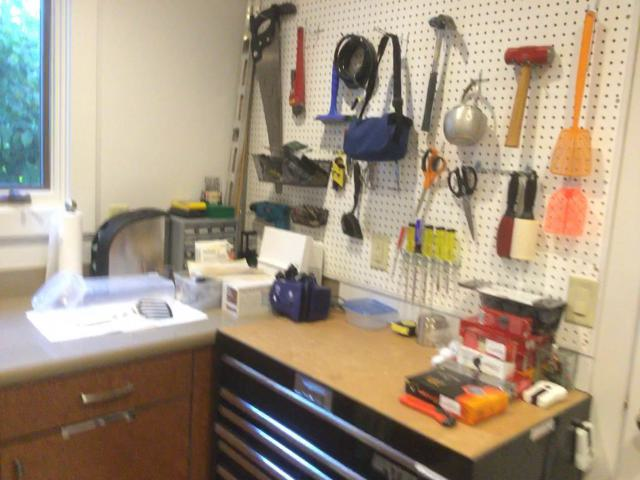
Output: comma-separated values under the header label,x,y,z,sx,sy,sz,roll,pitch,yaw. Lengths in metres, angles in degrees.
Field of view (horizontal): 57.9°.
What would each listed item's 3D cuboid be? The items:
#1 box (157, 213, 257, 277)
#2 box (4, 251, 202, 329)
label,x,y,z,sx,sy,sz,roll,pitch,yaw
box,-0.420,0.010,2.150,0.290,0.190,0.210,-3,11,-43
box,-0.700,0.140,1.860,0.460,0.110,0.440,-3,11,-43
